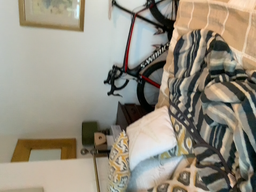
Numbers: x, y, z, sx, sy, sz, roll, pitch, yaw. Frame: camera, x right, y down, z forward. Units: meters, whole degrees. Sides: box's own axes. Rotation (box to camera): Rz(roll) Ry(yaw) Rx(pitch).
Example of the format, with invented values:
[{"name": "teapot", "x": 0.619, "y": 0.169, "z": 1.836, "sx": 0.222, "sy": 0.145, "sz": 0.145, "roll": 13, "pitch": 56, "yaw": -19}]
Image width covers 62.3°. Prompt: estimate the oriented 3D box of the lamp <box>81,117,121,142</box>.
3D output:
[{"name": "lamp", "x": -0.350, "y": 0.410, "z": 2.670, "sx": 0.260, "sy": 0.460, "sz": 0.190, "roll": -123, "pitch": 37, "yaw": -64}]
